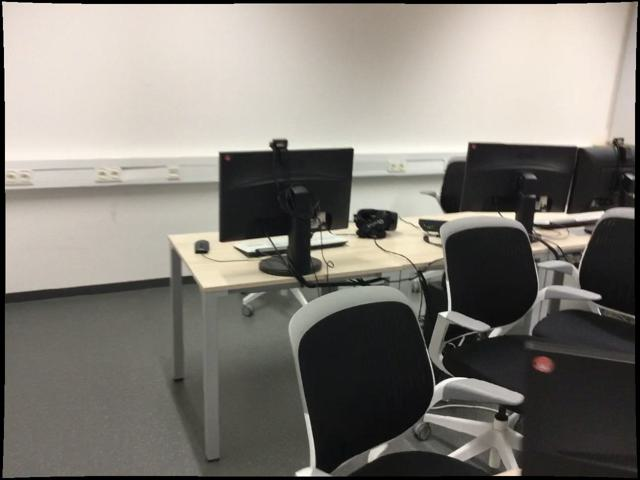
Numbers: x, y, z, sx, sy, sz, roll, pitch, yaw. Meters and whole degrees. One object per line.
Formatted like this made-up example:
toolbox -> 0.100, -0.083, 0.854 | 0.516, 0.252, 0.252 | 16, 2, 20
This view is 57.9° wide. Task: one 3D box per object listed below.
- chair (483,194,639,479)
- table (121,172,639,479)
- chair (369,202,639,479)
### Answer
chair -> 1.149, 0.360, 2.190 | 0.749, 0.931, 0.580 | -6, 17, -25
table -> 1.249, 0.160, 3.210 | 4.317, 0.801, 1.010 | -6, 17, -25
chair -> 0.629, 0.420, 1.960 | 0.670, 0.931, 0.620 | 12, 19, 33
